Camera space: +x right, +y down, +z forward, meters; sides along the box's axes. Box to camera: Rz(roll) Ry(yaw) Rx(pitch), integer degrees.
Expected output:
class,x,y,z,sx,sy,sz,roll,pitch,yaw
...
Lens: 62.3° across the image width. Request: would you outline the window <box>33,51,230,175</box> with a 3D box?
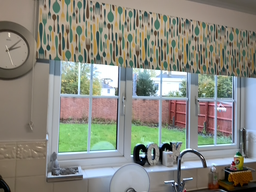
class,x,y,z,sx,sy,sz,roll,pitch,yaw
window,0.160,0.140,1.770,1.710,0.840,0.070,2,-1,-21
